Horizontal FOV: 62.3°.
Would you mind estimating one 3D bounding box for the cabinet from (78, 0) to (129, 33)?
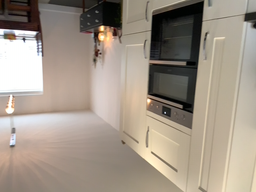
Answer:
[{"bbox_3d":[-0.510,-1.580,3.940,0.470,0.650,1.340,-4,-167,-28],"label":"cabinet"}]

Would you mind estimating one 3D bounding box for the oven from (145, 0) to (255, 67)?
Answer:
[{"bbox_3d":[0.590,-0.500,1.800,0.630,0.450,0.610,-4,-167,-28],"label":"oven"}]
